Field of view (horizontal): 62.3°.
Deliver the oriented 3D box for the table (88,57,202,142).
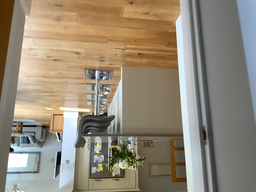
[{"bbox_3d":[0.030,0.280,3.790,1.400,0.980,2.400,1,167,-10],"label":"table"}]
